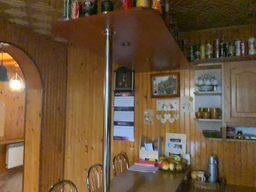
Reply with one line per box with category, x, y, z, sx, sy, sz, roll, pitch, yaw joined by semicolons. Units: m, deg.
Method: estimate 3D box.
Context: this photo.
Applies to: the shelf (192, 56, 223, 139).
shelf;0.870;0.020;2.330;0.300;0.840;0.290;0;-3;22
